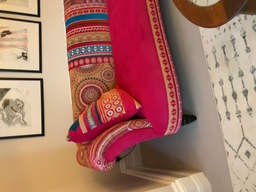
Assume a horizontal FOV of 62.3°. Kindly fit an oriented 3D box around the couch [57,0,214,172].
[{"bbox_3d":[-0.180,-0.650,2.040,1.210,0.770,2.420,148,116,-63],"label":"couch"}]
